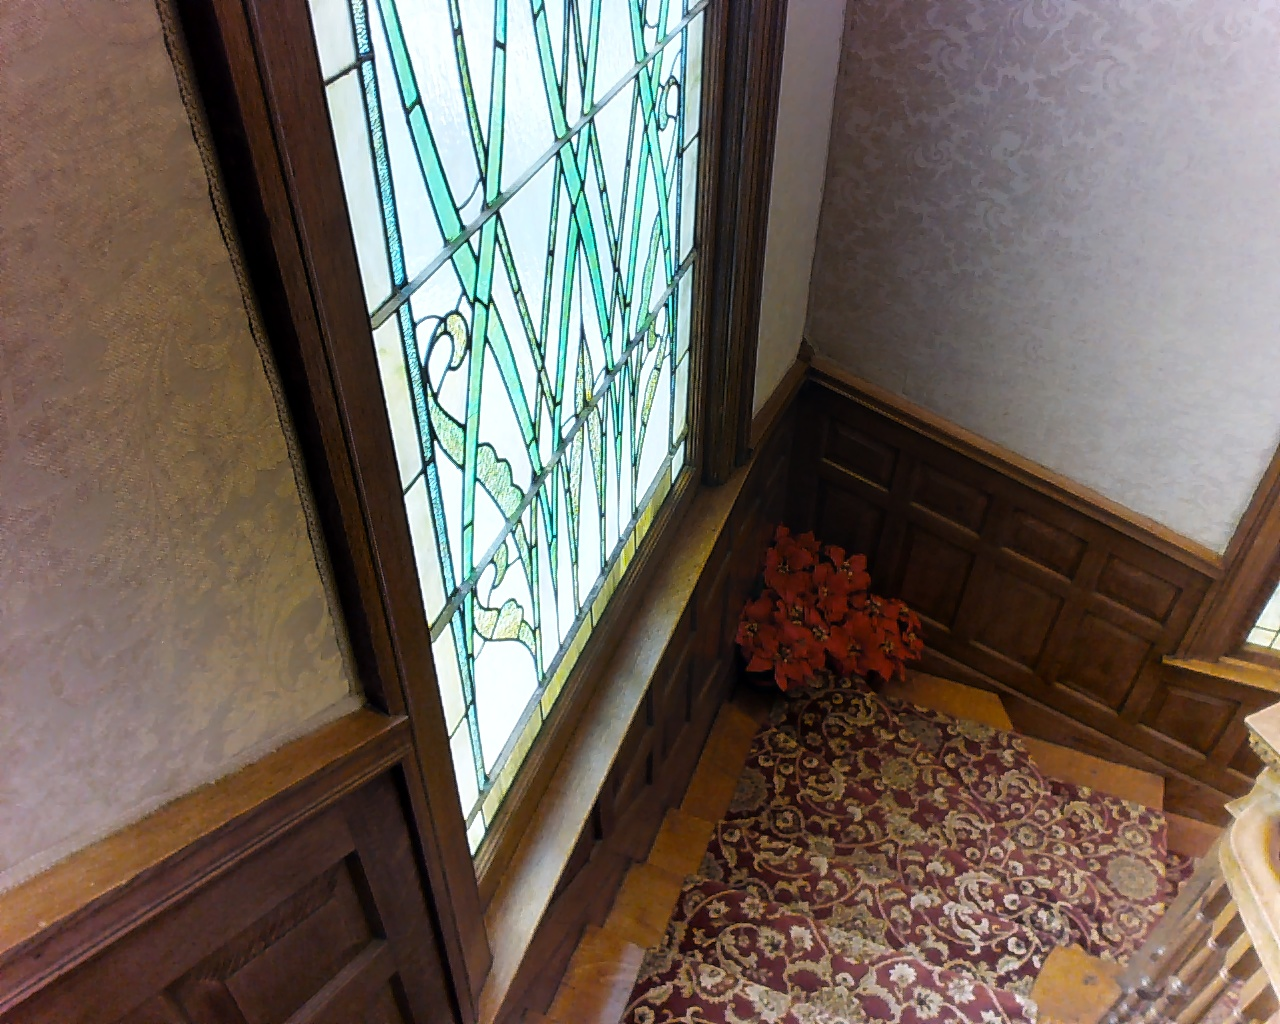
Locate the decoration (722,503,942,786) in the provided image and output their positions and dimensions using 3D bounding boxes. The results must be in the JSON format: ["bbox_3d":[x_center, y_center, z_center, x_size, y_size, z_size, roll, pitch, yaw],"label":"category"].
[{"bbox_3d":[0.600,0.410,3.410,0.510,0.550,0.550,15,44,15],"label":"decoration"}]

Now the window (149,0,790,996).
[{"bbox_3d":[-0.040,-0.650,1.180,0.130,2.640,1.240,15,44,15],"label":"window"}]
